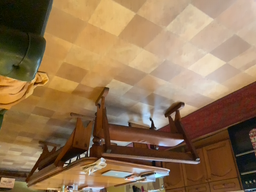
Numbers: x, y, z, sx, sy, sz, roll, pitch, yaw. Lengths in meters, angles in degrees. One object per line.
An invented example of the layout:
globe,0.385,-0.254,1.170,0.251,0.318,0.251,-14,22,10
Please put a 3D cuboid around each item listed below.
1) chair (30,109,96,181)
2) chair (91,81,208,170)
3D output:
chair,-1.000,0.800,3.150,0.380,0.680,1.410,19,144,-31
chair,0.220,0.370,2.400,1.150,0.750,0.440,11,148,-20
